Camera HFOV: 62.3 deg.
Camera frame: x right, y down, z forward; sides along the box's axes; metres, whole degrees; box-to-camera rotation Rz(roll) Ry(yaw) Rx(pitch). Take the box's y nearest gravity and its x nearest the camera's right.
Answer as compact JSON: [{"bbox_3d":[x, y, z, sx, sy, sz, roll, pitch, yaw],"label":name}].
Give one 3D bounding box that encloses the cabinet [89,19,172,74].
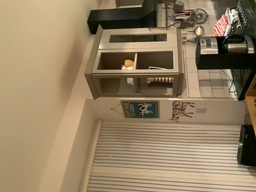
[{"bbox_3d":[0.050,-0.490,2.140,0.340,0.750,0.420,79,-166,-52],"label":"cabinet"}]
